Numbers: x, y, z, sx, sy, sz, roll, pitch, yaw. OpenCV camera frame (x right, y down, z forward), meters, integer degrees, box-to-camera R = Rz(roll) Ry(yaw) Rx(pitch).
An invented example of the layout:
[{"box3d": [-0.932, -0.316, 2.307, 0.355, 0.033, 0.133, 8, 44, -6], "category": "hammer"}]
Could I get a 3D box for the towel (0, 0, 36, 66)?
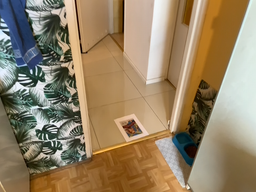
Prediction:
[{"box3d": [-0.470, -0.350, 0.820, 0.120, 0.450, 0.110, -11, 39, -18], "category": "towel"}]
